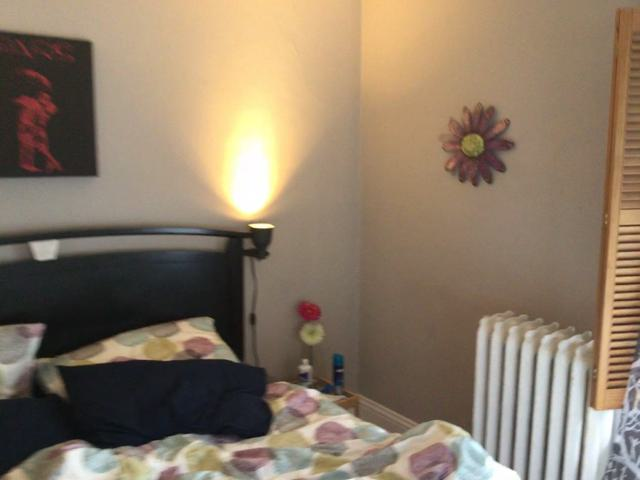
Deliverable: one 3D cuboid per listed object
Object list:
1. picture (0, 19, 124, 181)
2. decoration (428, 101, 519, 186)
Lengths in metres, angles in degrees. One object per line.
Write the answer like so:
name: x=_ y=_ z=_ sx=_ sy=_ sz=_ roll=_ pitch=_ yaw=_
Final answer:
picture: x=-0.970 y=-0.480 z=2.040 sx=0.510 sy=0.530 sz=0.060 roll=-6 pitch=9 yaw=-37
decoration: x=0.620 y=-0.390 z=2.390 sx=0.040 sy=0.320 sz=0.420 roll=-6 pitch=9 yaw=-37
